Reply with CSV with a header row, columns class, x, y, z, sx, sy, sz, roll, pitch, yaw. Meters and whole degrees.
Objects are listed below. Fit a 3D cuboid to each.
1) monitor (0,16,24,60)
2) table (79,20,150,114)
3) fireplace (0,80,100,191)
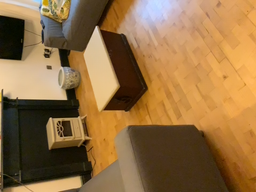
class,x,y,z,sx,sy,sz,roll,pitch,yaw
monitor,-1.890,-0.900,3.350,0.030,0.410,0.640,38,122,52
table,-0.190,-0.310,2.270,0.460,0.370,0.880,-54,46,41
fireplace,-1.140,0.480,2.980,0.350,1.120,1.460,-53,47,42
